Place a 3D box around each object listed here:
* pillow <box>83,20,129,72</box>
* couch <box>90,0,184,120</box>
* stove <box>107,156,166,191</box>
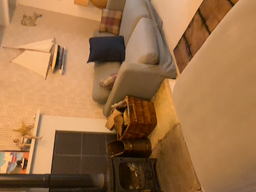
[{"bbox_3d":[-0.330,-0.750,3.200,0.300,0.590,0.550,52,-155,-47],"label":"pillow"},{"bbox_3d":[-0.050,-0.770,3.140,1.060,0.810,1.910,118,152,-46],"label":"couch"},{"bbox_3d":[0.070,0.890,2.280,0.340,0.510,0.350,118,152,-46],"label":"stove"}]
